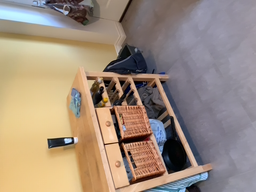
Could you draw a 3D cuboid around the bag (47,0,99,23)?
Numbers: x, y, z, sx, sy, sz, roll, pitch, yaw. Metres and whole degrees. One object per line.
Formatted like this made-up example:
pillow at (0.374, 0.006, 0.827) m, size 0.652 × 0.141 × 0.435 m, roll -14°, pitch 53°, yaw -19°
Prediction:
bag at (-0.570, -0.940, 2.200) m, size 0.230 × 0.450 × 0.180 m, roll -55°, pitch 47°, yaw 44°
